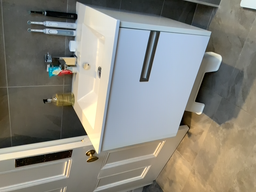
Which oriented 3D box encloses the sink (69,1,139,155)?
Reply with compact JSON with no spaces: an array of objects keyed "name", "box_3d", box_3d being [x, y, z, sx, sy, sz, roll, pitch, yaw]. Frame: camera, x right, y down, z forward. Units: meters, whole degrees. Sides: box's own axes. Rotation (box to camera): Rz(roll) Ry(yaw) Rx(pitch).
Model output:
[{"name":"sink","box_3d":[-0.170,-0.110,1.070,0.490,0.100,0.610,47,132,49]}]
